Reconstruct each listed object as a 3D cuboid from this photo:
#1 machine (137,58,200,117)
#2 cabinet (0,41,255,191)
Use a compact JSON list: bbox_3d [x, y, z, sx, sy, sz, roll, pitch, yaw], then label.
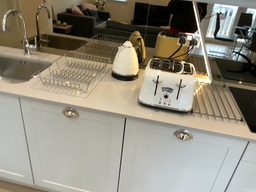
[{"bbox_3d":[0.220,-0.060,1.180,0.280,0.180,0.280,10,29,6],"label":"machine"},{"bbox_3d":[-0.190,0.280,1.590,3.980,0.910,0.700,10,29,7],"label":"cabinet"}]
